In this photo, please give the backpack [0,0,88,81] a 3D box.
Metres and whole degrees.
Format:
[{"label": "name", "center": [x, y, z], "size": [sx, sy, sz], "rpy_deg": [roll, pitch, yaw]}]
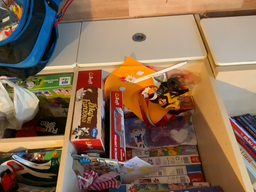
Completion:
[{"label": "backpack", "center": [-0.360, -0.280, 0.610], "size": [0.380, 0.280, 0.380], "rpy_deg": [-4, 144, 3]}]
